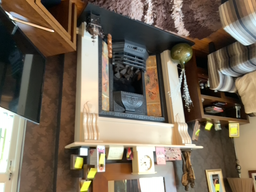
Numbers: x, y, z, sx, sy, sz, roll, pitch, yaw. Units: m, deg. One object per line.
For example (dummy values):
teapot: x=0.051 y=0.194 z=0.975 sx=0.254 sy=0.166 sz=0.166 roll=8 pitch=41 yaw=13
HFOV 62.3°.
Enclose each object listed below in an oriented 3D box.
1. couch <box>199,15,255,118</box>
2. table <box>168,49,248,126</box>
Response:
couch: x=1.430 y=-0.260 z=2.440 sx=0.840 sy=0.820 sz=0.720 roll=12 pitch=156 yaw=-36
table: x=1.090 y=-0.070 z=2.910 sx=1.010 sy=0.850 sz=0.360 roll=9 pitch=158 yaw=-30
